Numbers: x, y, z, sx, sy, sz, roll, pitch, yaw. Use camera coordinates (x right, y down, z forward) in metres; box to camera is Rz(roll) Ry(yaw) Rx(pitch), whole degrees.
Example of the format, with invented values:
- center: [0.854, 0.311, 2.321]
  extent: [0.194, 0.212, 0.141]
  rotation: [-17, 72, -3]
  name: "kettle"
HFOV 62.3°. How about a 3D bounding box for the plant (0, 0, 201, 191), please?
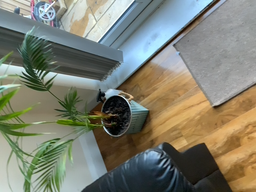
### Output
- center: [-0.310, 0.130, 1.160]
  extent: [0.800, 1.130, 0.690]
  rotation: [-34, 66, 32]
  name: "plant"
